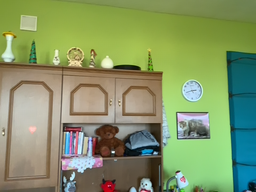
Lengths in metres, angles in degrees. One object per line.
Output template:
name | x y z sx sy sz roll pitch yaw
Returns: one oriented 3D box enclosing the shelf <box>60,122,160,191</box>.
shelf | -0.160 0.790 2.020 0.910 1.070 0.170 2 -7 -14
